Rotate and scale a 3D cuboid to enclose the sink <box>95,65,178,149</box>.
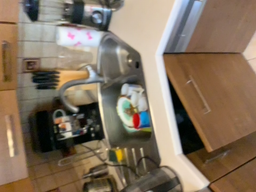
[{"bbox_3d":[0.020,0.080,1.230,0.440,0.180,0.400,-17,83,53],"label":"sink"}]

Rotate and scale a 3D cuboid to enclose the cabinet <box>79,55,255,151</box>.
[{"bbox_3d":[0.250,0.050,1.490,0.820,0.860,0.420,-17,83,53],"label":"cabinet"}]

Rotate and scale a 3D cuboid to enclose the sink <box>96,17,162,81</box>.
[{"bbox_3d":[-0.010,-0.250,1.220,0.330,0.180,0.250,-17,83,53],"label":"sink"}]
